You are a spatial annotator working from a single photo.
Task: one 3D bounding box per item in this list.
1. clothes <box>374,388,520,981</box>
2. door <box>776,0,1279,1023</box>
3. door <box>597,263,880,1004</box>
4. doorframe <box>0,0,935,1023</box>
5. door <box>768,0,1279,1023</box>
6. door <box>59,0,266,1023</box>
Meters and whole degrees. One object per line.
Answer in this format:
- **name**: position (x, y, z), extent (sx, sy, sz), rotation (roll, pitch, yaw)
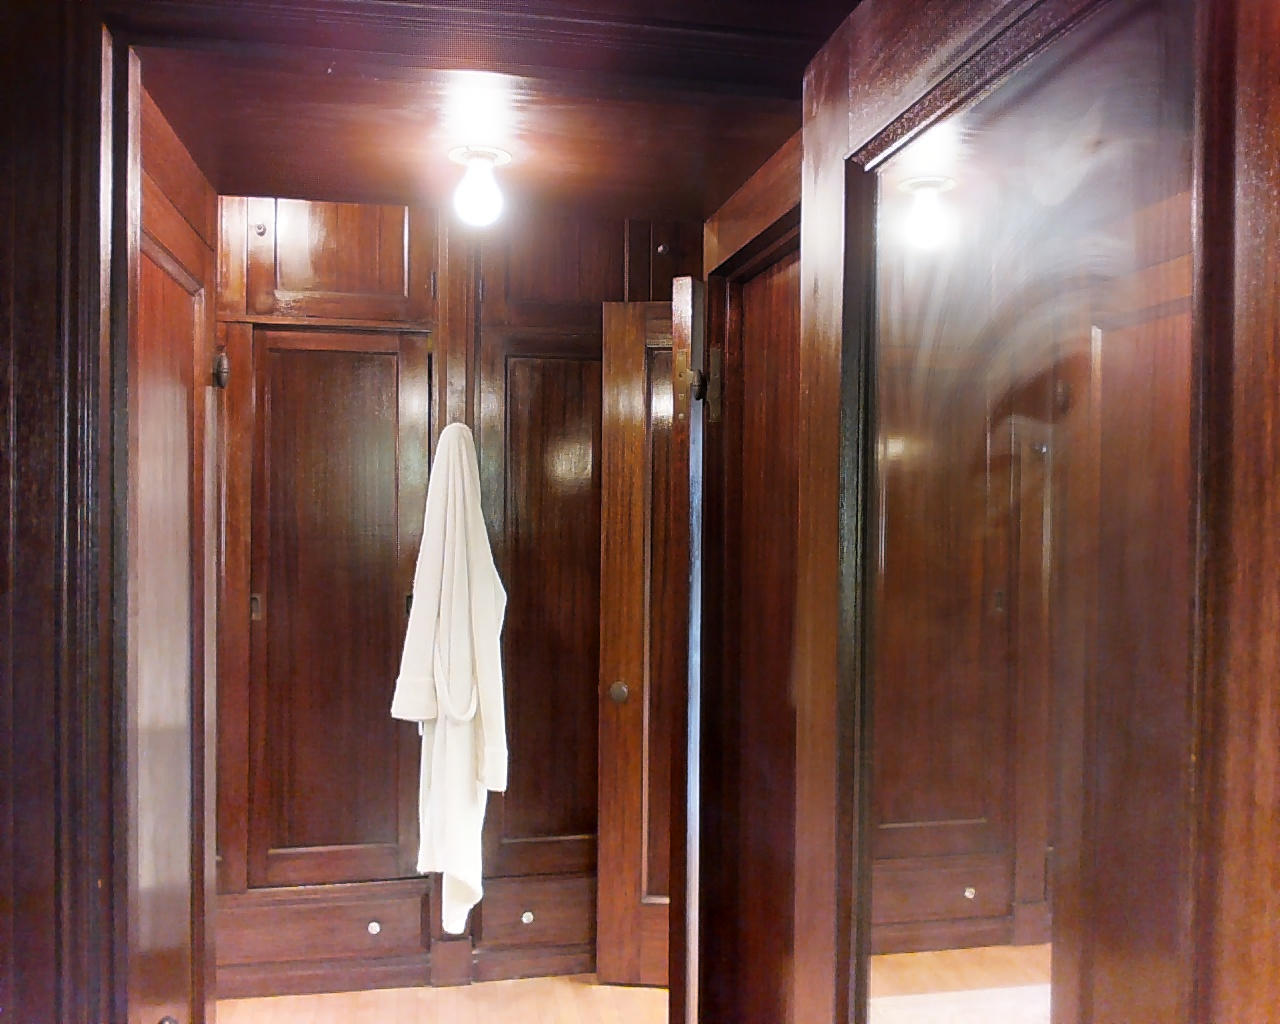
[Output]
- **clothes**: position (-0.570, 0.480, 3.190), extent (0.390, 1.650, 0.340), rotation (0, 1, -10)
- **door**: position (0.250, 0.240, 0.770), extent (0.060, 2.600, 0.790), rotation (0, 1, -10)
- **door**: position (0.290, 0.360, 3.260), extent (0.820, 2.200, 0.040), rotation (1, 1, 7)
- **doorframe**: position (-0.160, 0.410, 1.070), extent (0.900, 2.200, 0.080), rotation (0, 1, -10)
- **door**: position (0.230, 0.510, 0.780), extent (0.040, 2.050, 0.790), rotation (0, 1, -10)
- **door**: position (-0.600, 0.470, 1.430), extent (0.070, 2.060, 0.760), rotation (0, 1, -10)
